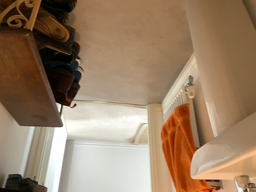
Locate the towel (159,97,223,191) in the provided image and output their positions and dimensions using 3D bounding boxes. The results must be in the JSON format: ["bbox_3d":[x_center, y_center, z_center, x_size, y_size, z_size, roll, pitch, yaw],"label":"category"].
[{"bbox_3d":[0.330,0.340,1.260,0.120,0.500,0.470,4,150,-8],"label":"towel"}]

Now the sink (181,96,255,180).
[{"bbox_3d":[0.370,0.160,0.650,0.230,0.110,0.470,5,150,-9],"label":"sink"}]
